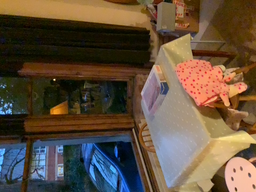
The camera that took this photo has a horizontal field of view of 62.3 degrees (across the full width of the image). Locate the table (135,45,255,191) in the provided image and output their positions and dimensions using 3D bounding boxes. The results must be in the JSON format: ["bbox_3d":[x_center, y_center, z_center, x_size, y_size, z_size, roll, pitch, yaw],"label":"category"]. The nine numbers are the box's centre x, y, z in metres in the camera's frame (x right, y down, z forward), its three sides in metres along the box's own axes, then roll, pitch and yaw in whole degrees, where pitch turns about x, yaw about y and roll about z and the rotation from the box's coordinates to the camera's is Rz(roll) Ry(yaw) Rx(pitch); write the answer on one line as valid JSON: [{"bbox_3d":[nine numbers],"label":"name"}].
[{"bbox_3d":[0.620,0.190,1.840,0.800,0.750,0.910,108,155,-43],"label":"table"}]
